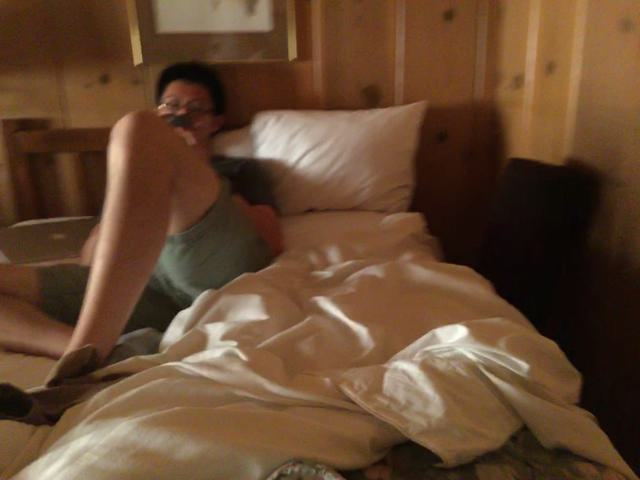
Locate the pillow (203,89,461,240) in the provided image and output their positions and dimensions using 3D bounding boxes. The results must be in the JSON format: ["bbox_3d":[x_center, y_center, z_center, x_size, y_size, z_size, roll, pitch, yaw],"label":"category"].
[{"bbox_3d":[0.020,-0.250,1.820,0.720,0.410,0.350,1,14,-4],"label":"pillow"}]

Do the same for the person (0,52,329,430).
[{"bbox_3d":[-0.410,-0.120,1.400,0.750,0.560,1.170,1,14,-4],"label":"person"}]

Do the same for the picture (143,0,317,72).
[{"bbox_3d":[-0.270,-0.880,1.770,0.530,0.680,0.060,1,14,-4],"label":"picture"}]
